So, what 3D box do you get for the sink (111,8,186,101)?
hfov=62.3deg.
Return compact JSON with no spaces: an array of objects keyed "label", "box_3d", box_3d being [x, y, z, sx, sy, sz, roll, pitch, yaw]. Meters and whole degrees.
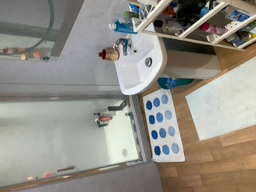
[{"label":"sink","box_3d":[0.100,-0.250,1.490,0.560,0.150,0.390,-37,59,51]}]
